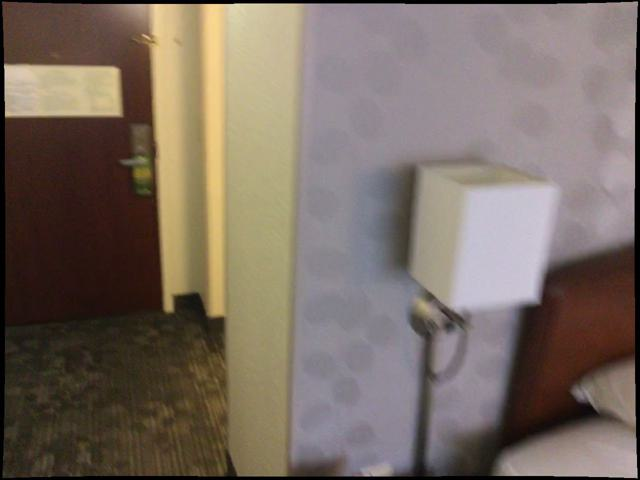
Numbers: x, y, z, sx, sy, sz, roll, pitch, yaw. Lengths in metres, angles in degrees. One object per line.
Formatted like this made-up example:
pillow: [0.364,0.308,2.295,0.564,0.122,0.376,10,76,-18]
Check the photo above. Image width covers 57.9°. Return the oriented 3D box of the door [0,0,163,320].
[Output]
door: [-1.269,-0.541,2.820,0.909,1.952,0.130,-4,23,-21]
